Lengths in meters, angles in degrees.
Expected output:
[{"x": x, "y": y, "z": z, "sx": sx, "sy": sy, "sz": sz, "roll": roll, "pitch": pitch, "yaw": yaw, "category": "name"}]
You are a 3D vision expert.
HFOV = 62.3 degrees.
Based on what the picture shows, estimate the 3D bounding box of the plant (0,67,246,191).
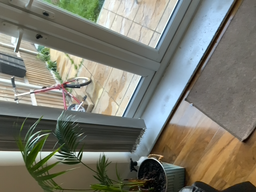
[{"x": -0.100, "y": 0.490, "z": 1.190, "sx": 0.600, "sy": 1.130, "sz": 0.880, "roll": 45, "pitch": 115, "yaw": 47, "category": "plant"}]
